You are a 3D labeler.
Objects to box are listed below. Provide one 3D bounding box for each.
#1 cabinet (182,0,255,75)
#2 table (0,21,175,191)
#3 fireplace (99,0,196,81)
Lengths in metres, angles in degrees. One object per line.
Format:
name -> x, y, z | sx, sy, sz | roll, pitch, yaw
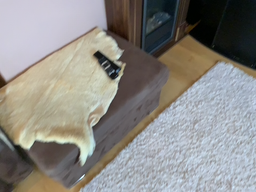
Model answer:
cabinet -> 1.080, -0.660, 1.860 | 1.010, 0.620, 0.450 | 37, 61, 25
table -> -0.270, 0.020, 1.460 | 0.660, 0.450, 0.970 | 36, 61, 25
fireplace -> 0.210, -0.750, 1.740 | 0.280, 0.930, 0.900 | 37, 62, 25
